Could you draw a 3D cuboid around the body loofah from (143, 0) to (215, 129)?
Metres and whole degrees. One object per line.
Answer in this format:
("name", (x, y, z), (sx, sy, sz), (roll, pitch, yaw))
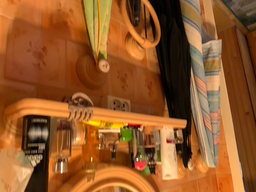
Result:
("body loofah", (0.210, -0.290, 0.950), (0.130, 0.850, 0.260), (-16, 160, 42))

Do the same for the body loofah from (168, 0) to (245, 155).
("body loofah", (0.400, -0.240, 1.150), (0.160, 1.070, 0.310), (-17, 159, 42))
